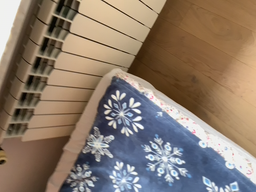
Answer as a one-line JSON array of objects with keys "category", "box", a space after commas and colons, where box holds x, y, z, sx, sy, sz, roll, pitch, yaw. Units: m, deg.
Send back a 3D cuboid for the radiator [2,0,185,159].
[{"category": "radiator", "box": [-0.150, -0.190, 1.080, 0.180, 0.550, 1.080, 42, 111, 29]}]
